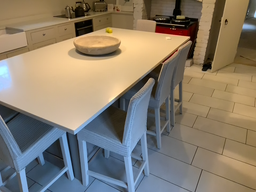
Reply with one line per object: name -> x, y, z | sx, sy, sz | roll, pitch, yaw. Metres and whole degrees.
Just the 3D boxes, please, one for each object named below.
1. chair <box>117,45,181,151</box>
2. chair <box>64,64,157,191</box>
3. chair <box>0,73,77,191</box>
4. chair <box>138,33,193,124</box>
chair -> 0.210, 0.010, 2.280 | 0.470, 0.950, 0.460 | 15, 33, 23
chair -> -0.110, 0.310, 1.730 | 0.480, 0.970, 0.470 | 15, 33, 23
chair -> -0.750, 0.400, 1.570 | 0.360, 0.960, 0.530 | 17, 34, 26
chair -> 0.450, -0.230, 2.680 | 0.470, 0.980, 0.440 | 15, 33, 23
